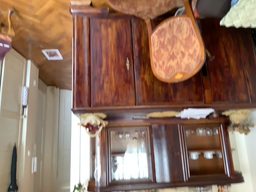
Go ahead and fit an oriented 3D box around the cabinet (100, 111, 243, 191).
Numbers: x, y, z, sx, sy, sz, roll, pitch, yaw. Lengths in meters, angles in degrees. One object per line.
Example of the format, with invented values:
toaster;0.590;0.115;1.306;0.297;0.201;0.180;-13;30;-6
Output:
cabinet;0.360;0.500;2.020;1.220;0.620;0.340;-1;167;-5
